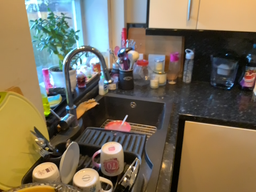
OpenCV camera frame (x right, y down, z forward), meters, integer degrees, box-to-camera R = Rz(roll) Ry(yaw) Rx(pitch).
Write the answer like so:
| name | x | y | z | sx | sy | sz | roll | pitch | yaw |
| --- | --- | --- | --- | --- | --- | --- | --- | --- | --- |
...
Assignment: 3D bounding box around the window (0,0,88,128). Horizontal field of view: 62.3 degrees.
| name | x | y | z | sx | sy | sz | roll | pitch | yaw |
| --- | --- | --- | --- | --- | --- | --- | --- | --- | --- |
| window | -0.500 | -0.380 | 1.260 | 0.050 | 0.740 | 0.970 | 7 | 25 | 14 |
